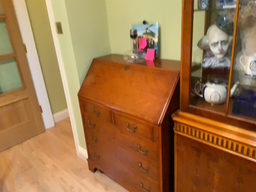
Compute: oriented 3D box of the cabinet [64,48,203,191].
[{"bbox_3d":[0.030,0.210,1.620,0.850,1.000,0.470,17,31,42],"label":"cabinet"}]
